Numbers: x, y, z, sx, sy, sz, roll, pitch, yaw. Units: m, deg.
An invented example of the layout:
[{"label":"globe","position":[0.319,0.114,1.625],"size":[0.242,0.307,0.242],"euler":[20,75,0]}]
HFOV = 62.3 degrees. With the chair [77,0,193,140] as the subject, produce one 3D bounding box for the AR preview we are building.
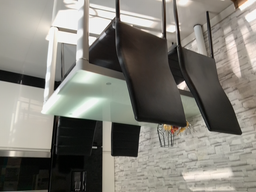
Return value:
[{"label":"chair","position":[0.000,-0.270,1.330],"size":[0.390,0.970,0.500],"euler":[15,152,-37]}]
